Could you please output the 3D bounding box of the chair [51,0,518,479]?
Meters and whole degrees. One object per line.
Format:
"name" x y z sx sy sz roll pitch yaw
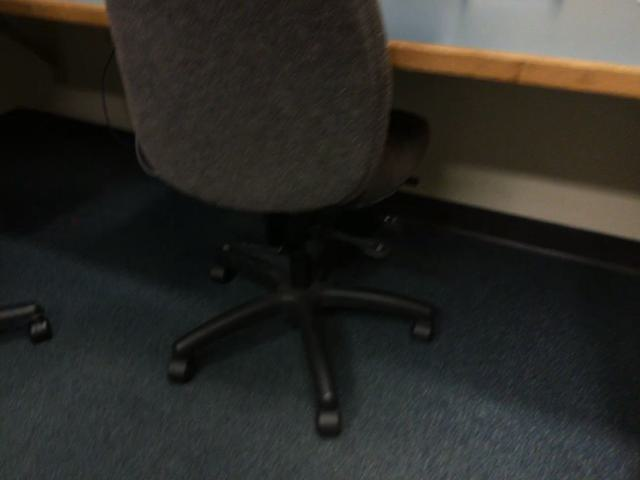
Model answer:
"chair" -0.020 -0.150 1.150 0.590 0.950 0.590 16 34 20
